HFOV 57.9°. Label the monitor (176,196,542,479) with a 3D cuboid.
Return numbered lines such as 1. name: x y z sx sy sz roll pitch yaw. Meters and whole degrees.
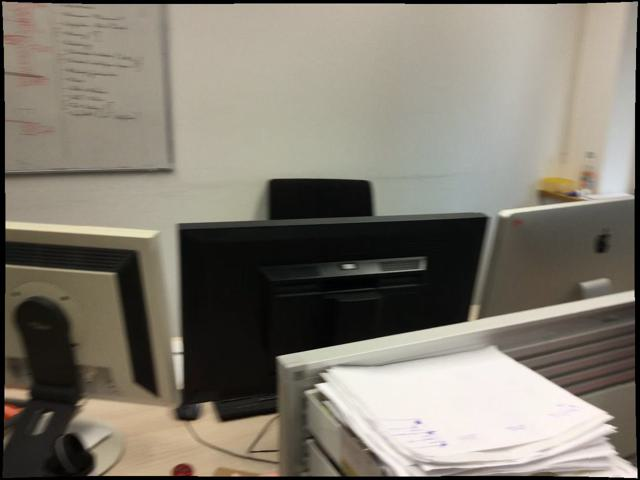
1. monitor: 0.080 0.190 1.180 0.679 0.480 0.220 -6 19 -24
